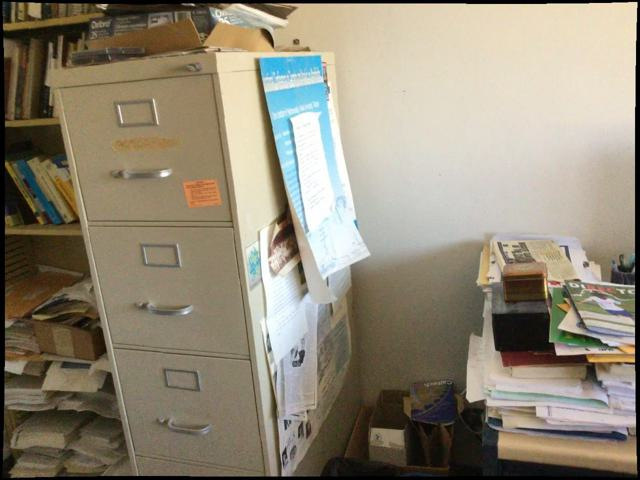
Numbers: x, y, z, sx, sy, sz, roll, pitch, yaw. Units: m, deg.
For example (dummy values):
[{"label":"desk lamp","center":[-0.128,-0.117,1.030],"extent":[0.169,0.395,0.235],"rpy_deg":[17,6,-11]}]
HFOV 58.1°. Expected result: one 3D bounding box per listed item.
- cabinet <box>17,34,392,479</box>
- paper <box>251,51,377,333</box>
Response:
[{"label":"cabinet","center":[-0.160,0.261,1.650],"extent":[0.539,1.544,0.820],"rpy_deg":[0,18,16]},{"label":"paper","center":[0.020,-0.170,1.550],"extent":[0.130,0.631,0.580],"rpy_deg":[0,18,16]}]
